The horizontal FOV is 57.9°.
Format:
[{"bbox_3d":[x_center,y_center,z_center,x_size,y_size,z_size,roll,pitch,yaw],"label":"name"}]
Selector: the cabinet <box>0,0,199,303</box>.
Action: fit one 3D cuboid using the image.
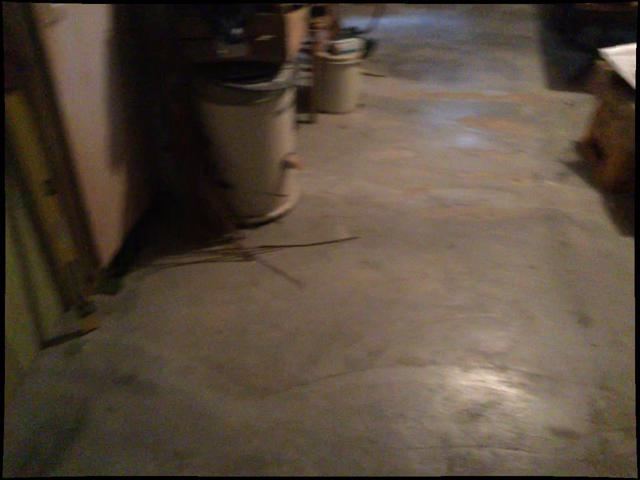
[{"bbox_3d":[-0.679,-0.681,1.590,0.270,1.771,0.640,4,41,5],"label":"cabinet"}]
